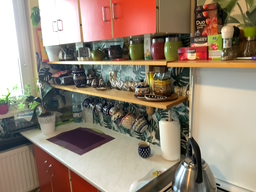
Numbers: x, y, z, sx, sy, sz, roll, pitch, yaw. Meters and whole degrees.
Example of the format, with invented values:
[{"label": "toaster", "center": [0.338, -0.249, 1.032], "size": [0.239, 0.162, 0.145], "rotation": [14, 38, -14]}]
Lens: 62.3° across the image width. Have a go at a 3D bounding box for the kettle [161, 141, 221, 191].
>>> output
[{"label": "kettle", "center": [0.280, 0.360, 0.960], "size": [0.180, 0.220, 0.190], "rotation": [-13, 16, -43]}]
